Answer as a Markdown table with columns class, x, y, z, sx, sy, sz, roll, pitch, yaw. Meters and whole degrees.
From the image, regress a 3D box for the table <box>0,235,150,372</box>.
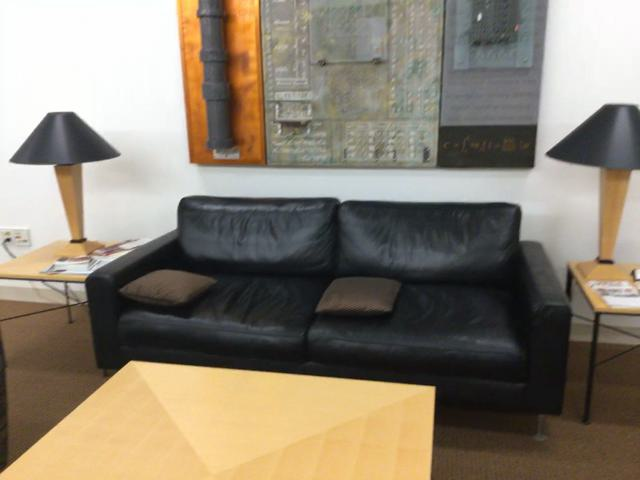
| class | x | y | z | sx | sy | sz | roll | pitch | yaw |
| --- | --- | --- | --- | --- | --- | --- | --- | --- | --- |
| table | -1.220 | 0.280 | 2.840 | 0.510 | 0.490 | 0.560 | 3 | 12 | 12 |
